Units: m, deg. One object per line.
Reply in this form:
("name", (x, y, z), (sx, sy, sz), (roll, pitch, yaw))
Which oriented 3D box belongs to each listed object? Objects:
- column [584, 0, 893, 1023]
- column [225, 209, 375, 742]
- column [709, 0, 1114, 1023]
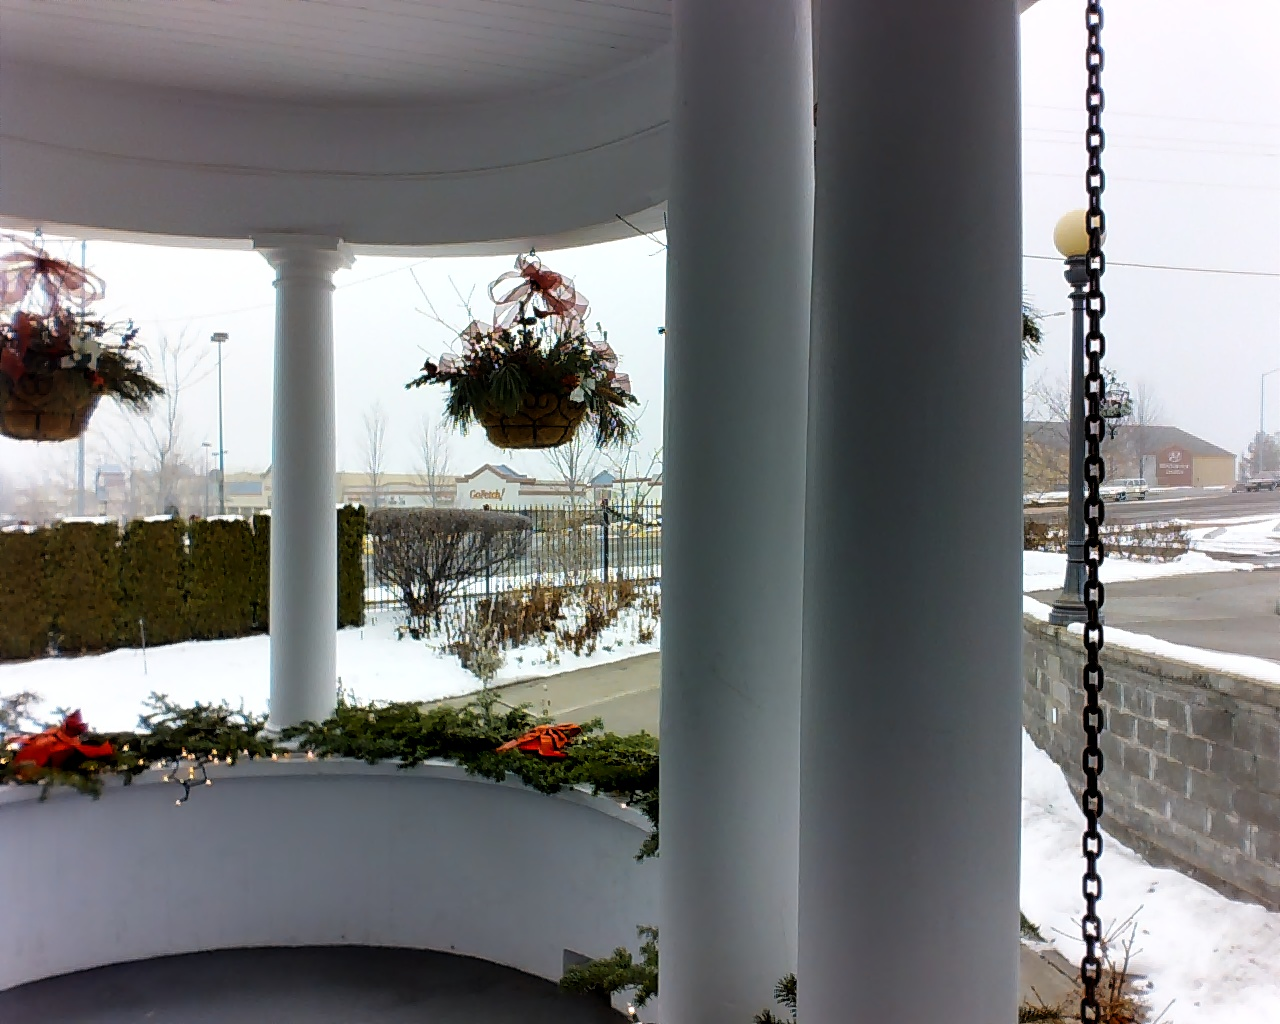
("column", (0.130, -0.080, 1.510), (0.310, 1.771, 0.280), (1, 0, -21))
("column", (-1.220, -0.120, 3.860), (0.460, 1.801, 0.290), (1, 0, -21))
("column", (0.260, -0.090, 1.090), (0.250, 1.751, 0.300), (1, 0, -21))
